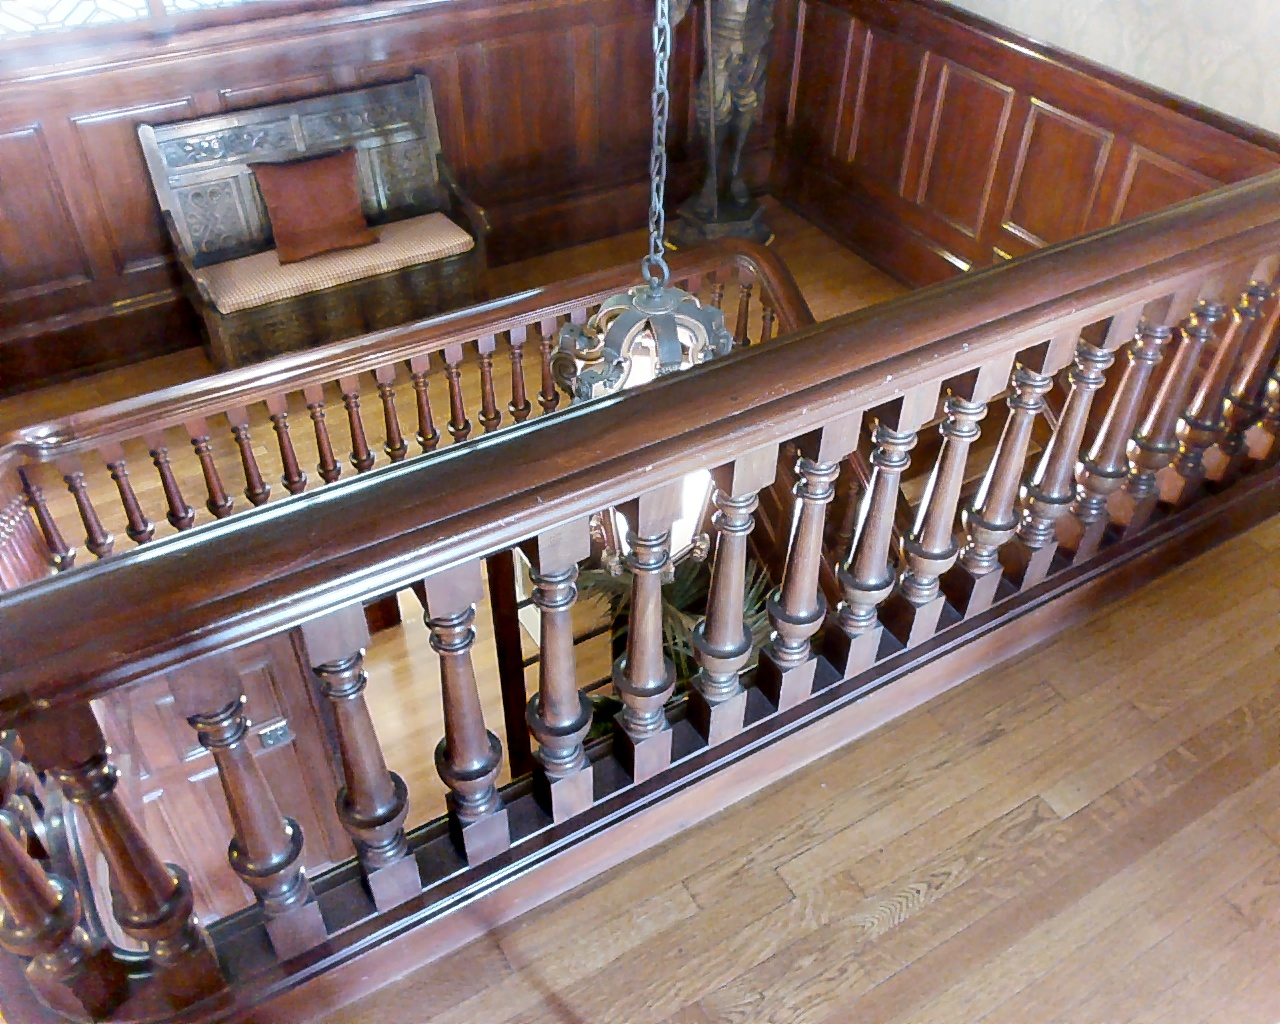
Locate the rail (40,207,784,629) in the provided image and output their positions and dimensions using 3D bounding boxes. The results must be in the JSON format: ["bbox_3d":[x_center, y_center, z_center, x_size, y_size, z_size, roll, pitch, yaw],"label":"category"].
[{"bbox_3d":[-0.660,-0.430,4.220,2.830,0.900,0.150,-22,47,-23],"label":"rail"}]
